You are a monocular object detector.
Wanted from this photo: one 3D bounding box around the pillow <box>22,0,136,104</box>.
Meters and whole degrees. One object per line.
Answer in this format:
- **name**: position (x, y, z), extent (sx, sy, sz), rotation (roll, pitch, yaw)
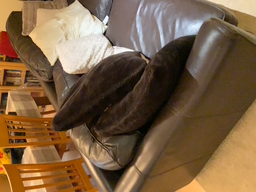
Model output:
- **pillow**: position (-0.490, -0.510, 1.680), extent (1.340, 0.290, 0.360), rotation (49, 125, 35)
